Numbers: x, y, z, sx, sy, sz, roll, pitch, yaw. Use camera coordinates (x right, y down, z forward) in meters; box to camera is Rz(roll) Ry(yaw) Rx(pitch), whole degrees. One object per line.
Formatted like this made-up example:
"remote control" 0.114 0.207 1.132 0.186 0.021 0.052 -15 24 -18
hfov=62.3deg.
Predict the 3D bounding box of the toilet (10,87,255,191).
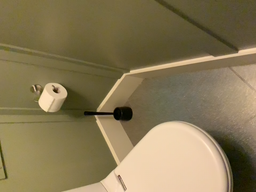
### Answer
"toilet" 0.090 0.370 0.820 0.660 0.840 0.400 -50 56 30
